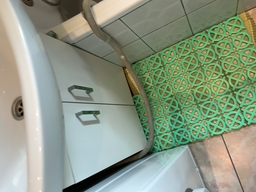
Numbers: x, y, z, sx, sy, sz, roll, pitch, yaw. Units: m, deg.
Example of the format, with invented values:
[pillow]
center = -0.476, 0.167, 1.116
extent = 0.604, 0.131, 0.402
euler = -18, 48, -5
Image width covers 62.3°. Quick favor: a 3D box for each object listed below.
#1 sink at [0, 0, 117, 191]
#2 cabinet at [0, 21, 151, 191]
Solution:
[sink]
center = -0.310, 0.030, 0.530
extent = 0.370, 0.210, 0.530
euler = -22, 79, 20
[cabinet]
center = -0.200, 0.080, 0.870
extent = 0.280, 0.660, 0.450
euler = -22, 79, 20
